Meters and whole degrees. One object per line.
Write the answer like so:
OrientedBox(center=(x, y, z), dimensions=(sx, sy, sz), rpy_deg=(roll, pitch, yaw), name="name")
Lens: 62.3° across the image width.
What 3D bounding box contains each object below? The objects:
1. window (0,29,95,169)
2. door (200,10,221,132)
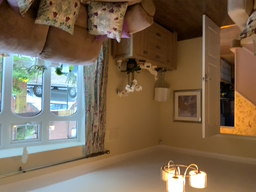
OrientedBox(center=(-1.350, 0.040, 2.530), dimensions=(0.480, 1.450, 1.990), rpy_deg=(0, 178, 43), name="window")
OrientedBox(center=(1.450, -0.390, 3.680), dimensions=(0.090, 1.930, 0.790), rpy_deg=(0, 178, 39), name="door")
